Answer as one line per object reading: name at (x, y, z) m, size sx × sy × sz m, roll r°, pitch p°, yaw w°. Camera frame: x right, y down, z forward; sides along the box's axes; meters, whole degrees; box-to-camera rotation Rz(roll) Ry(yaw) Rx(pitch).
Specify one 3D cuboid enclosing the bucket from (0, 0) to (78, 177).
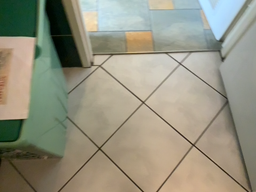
bucket at (-0.390, 0.000, 0.740) m, size 0.320 × 0.580 × 0.490 m, roll -3°, pitch 68°, yaw -4°
